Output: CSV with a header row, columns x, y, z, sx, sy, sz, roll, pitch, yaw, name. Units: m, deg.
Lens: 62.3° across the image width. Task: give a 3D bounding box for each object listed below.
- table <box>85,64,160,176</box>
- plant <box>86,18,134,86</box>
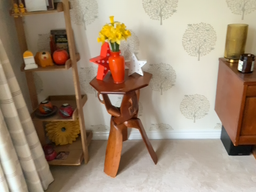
x,y,z,sx,sy,sz,roll,pitch,yaw,name
0.000,0.160,1.520,0.420,0.660,0.430,-2,26,5,table
-0.090,-0.280,1.310,0.230,0.340,0.280,-2,26,4,plant
